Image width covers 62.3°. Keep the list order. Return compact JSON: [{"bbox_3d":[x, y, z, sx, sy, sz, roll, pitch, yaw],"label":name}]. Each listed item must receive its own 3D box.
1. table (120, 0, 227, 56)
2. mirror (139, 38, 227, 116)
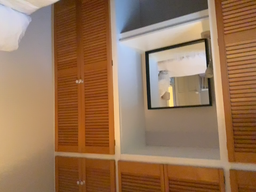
[{"bbox_3d":[0.440,-0.910,2.130,0.910,0.770,0.490,-5,174,31],"label":"table"},{"bbox_3d":[0.540,-0.160,2.230,0.860,0.710,0.090,-5,174,29],"label":"mirror"}]
